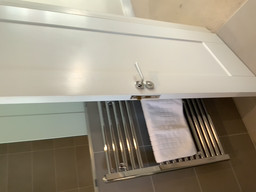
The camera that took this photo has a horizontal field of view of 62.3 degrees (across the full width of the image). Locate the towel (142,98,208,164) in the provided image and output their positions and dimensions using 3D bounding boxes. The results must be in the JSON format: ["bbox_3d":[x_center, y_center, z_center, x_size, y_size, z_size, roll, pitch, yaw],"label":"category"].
[{"bbox_3d":[0.270,0.190,1.250,0.080,0.300,0.350,129,134,-55],"label":"towel"}]
